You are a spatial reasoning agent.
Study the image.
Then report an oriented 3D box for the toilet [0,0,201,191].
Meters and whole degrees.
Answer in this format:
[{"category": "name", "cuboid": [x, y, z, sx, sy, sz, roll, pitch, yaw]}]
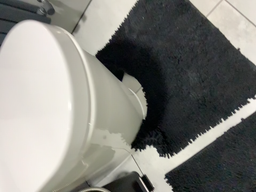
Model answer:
[{"category": "toilet", "cuboid": [-0.330, 0.110, 0.560, 0.660, 0.820, 0.400, -48, 64, 29]}]
